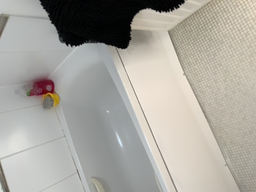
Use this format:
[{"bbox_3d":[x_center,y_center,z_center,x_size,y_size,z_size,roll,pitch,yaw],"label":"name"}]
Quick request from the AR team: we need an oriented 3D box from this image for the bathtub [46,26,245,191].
[{"bbox_3d":[0.170,0.490,1.330,0.700,0.580,1.620,-30,80,42],"label":"bathtub"}]
